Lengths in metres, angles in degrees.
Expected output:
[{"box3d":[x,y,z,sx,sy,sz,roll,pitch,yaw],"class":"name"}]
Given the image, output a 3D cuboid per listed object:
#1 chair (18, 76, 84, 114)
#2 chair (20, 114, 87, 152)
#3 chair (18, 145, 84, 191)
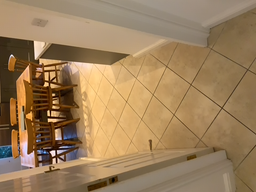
[{"box3d":[-1.210,-0.010,3.340,0.560,0.820,0.490,-10,84,52],"class":"chair"},{"box3d":[-1.150,0.560,3.280,0.550,0.820,0.440,-18,77,51],"class":"chair"},{"box3d":[-1.220,1.100,3.370,0.540,0.850,0.440,-5,88,52],"class":"chair"}]
